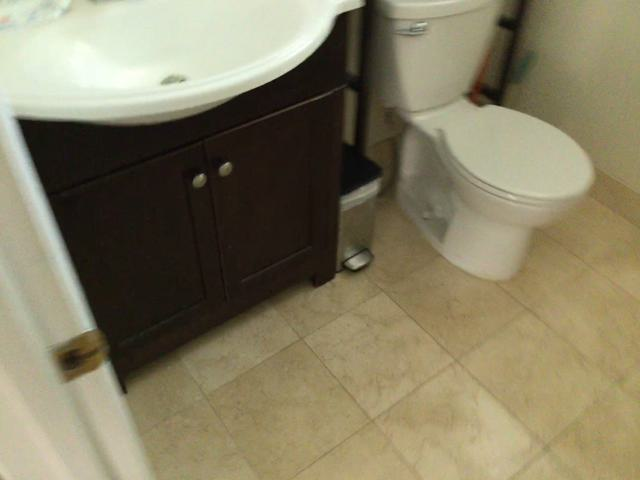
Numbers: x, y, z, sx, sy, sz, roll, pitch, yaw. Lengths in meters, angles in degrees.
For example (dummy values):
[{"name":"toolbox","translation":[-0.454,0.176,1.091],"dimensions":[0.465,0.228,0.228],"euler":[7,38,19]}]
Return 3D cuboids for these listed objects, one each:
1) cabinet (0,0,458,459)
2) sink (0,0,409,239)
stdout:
[{"name":"cabinet","translation":[-0.230,-0.180,1.340],"dimensions":[0.930,1.050,0.470],"euler":[-30,53,-26]},{"name":"sink","translation":[-0.270,-0.360,1.090],"dimensions":[0.770,0.180,0.440],"euler":[-30,53,-26]}]
